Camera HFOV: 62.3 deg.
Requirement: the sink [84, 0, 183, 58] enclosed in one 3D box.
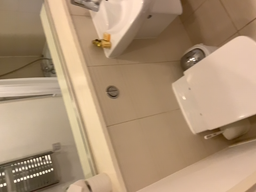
[{"bbox_3d":[-0.040,-0.590,1.140,0.470,0.190,0.590,-41,65,51],"label":"sink"}]
